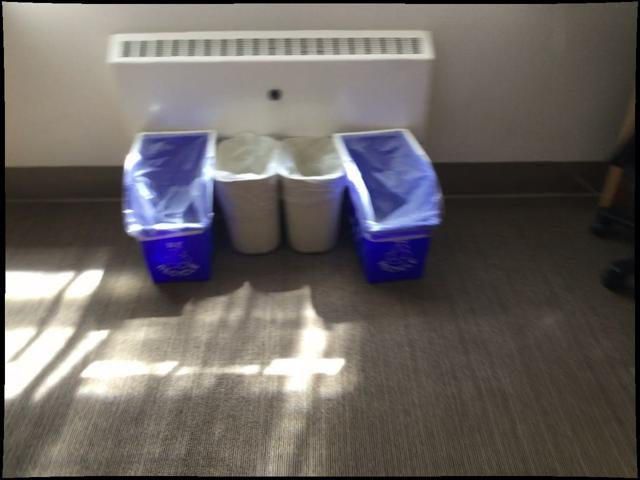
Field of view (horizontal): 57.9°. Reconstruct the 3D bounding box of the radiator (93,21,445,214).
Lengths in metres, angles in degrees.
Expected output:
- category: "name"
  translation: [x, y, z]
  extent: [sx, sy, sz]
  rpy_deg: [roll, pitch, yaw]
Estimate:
- category: "radiator"
  translation: [-0.150, -0.400, 1.980]
  extent: [1.049, 0.620, 0.170]
  rpy_deg: [-1, 37, -1]
